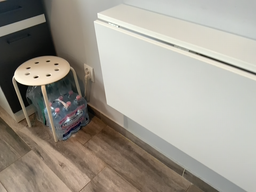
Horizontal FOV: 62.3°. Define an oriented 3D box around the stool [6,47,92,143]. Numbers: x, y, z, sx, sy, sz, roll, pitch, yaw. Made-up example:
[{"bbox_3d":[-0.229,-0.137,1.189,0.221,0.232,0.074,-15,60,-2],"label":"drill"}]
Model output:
[{"bbox_3d":[-0.490,-0.010,1.400,0.310,0.450,0.320,29,49,30],"label":"stool"}]
